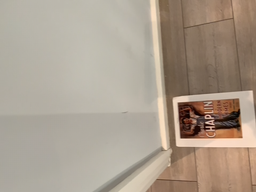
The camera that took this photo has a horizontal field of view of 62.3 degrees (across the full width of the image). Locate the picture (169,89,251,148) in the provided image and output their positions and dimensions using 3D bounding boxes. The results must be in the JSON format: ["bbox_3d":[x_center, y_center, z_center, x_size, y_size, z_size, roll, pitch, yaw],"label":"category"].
[{"bbox_3d":[0.320,0.090,0.860,0.300,0.020,0.220,-2,86,21],"label":"picture"}]
